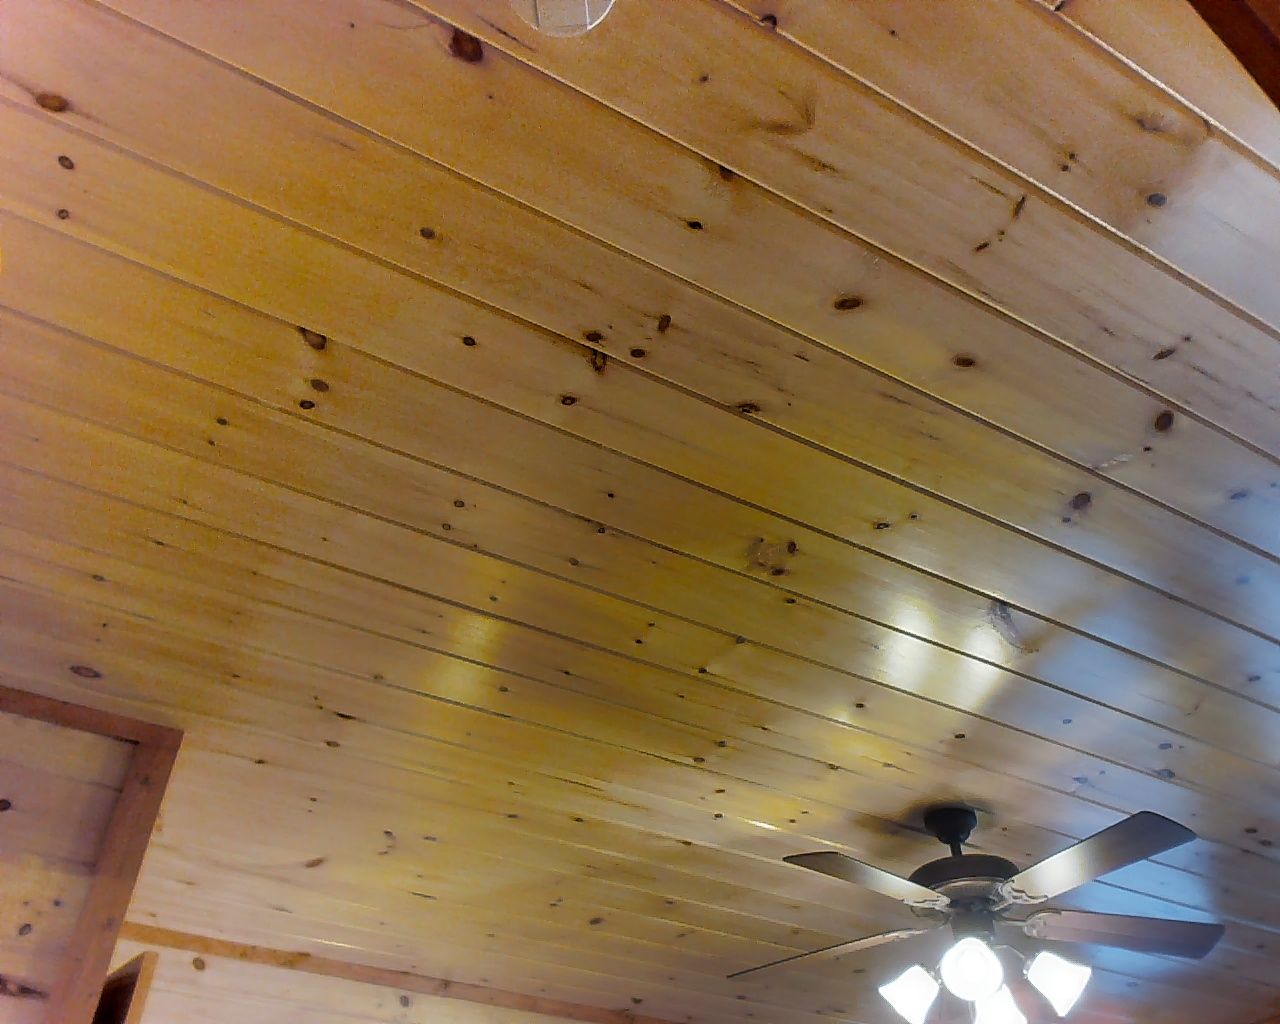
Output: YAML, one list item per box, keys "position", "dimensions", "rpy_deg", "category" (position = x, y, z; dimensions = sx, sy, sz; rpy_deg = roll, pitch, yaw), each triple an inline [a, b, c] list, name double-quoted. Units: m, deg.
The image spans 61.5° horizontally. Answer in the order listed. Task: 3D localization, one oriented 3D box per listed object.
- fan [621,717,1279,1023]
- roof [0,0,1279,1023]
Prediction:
- position: [0.850, 0.930, 2.690]
  dimensions: [1.280, 0.390, 1.350]
  rpy_deg: [22, -23, -21]
  category: "fan"
- position: [0.690, 0.770, 2.770]
  dimensions: [4.780, 0.110, 3.660]
  rpy_deg: [22, -46, -22]
  category: "roof"
